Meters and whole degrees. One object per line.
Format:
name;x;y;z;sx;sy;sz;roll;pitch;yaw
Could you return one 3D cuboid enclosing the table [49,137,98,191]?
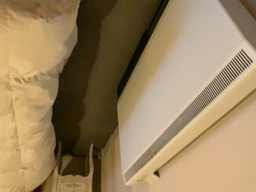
table;-0.600;0.870;2.350;0.450;0.670;0.400;10;139;-19
